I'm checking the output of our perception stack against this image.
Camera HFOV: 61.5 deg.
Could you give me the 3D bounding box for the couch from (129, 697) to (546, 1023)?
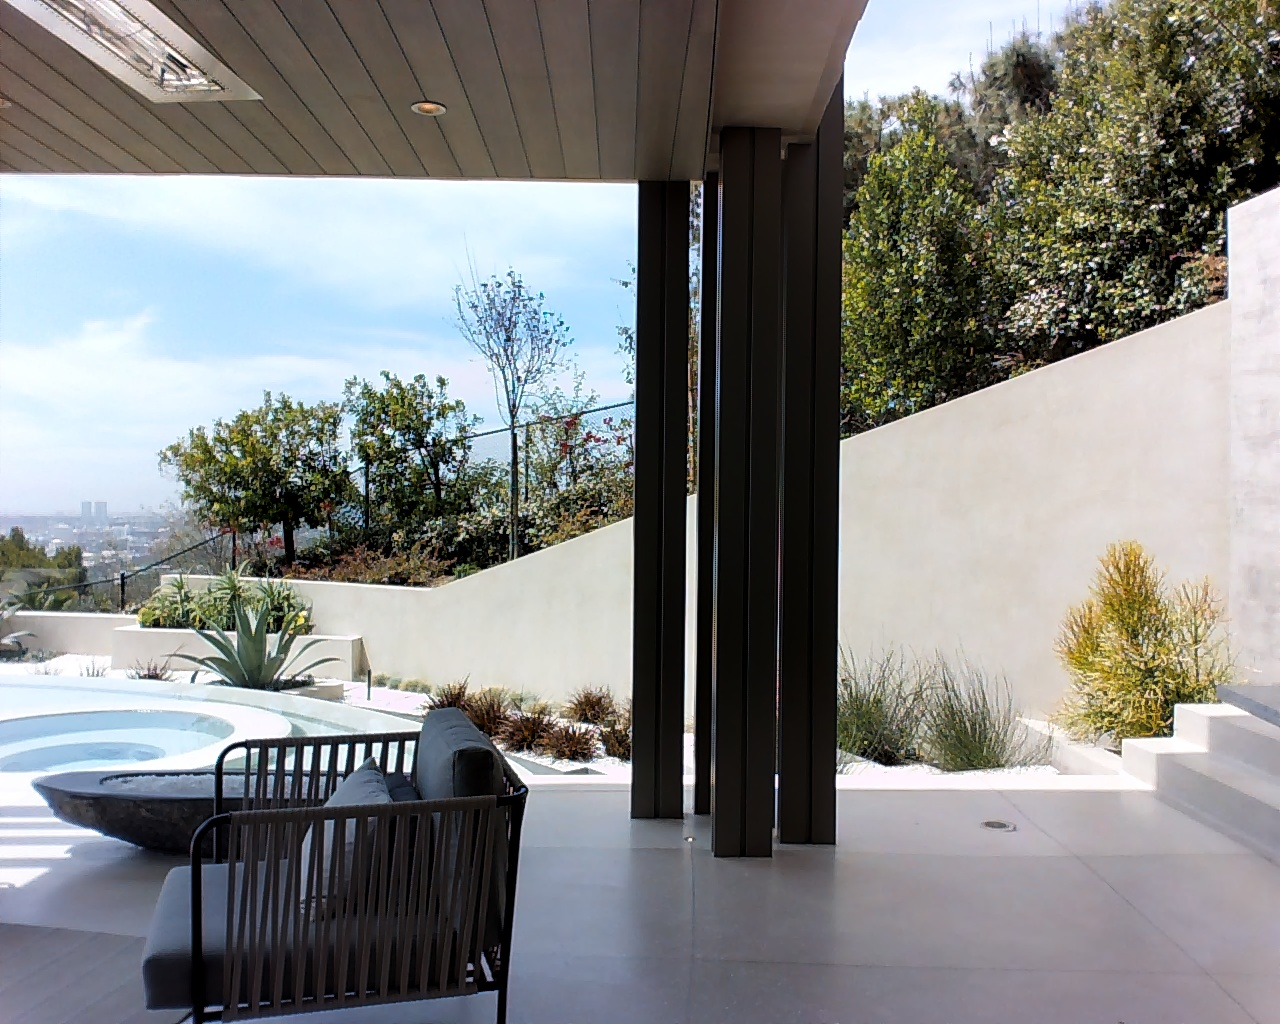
[{"bbox_3d":[-0.880,1.070,3.140,1.010,0.860,0.900,0,0,-19],"label":"couch"}]
